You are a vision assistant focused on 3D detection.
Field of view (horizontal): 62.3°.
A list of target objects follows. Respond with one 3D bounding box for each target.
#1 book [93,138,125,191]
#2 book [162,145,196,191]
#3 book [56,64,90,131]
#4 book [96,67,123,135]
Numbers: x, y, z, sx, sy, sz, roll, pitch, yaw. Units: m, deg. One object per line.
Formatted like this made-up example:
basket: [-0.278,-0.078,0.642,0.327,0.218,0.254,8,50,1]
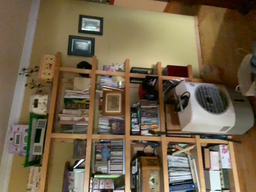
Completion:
book: [-0.200,0.810,2.190,0.370,0.280,0.670,117,155,-65]
book: [0.550,0.870,2.320,0.220,0.270,0.610,118,154,-66]
book: [-0.590,0.020,2.350,0.260,0.290,0.680,120,152,-67]
book: [-0.210,0.060,2.410,0.240,0.260,0.720,117,155,-65]
